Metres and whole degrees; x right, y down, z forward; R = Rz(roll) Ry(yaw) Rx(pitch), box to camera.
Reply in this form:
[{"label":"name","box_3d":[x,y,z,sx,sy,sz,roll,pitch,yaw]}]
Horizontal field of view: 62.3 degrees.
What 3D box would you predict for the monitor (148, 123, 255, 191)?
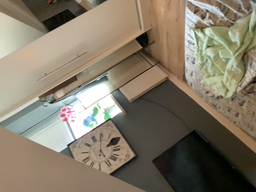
[{"label":"monitor","box_3d":[0.720,0.770,1.910,1.020,0.590,0.040,50,166,35]}]
